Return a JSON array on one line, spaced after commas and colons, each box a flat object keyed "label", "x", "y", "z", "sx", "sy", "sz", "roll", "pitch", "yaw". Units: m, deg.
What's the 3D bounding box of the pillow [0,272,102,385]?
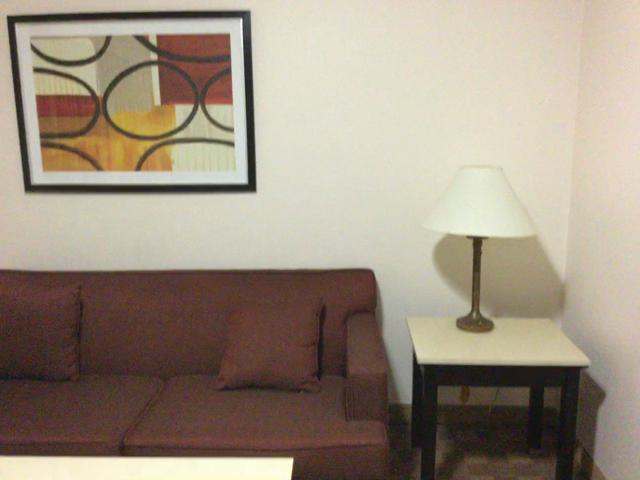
[{"label": "pillow", "x": -1.190, "y": 0.360, "z": 2.400, "sx": 0.440, "sy": 0.400, "sz": 0.250, "roll": -1, "pitch": 9, "yaw": 1}]

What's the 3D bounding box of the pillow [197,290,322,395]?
[{"label": "pillow", "x": -0.230, "y": 0.410, "z": 2.370, "sx": 0.460, "sy": 0.330, "sz": 0.310, "roll": -1, "pitch": 9, "yaw": 1}]
